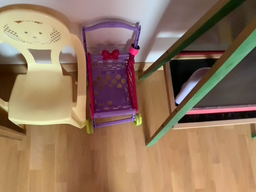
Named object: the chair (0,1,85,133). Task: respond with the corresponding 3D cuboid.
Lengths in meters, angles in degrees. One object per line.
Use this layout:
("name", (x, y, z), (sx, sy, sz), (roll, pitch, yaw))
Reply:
("chair", (-0.390, -0.060, 0.900), (0.380, 0.560, 0.350), (-2, 75, -10))

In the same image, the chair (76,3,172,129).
("chair", (-0.060, -0.070, 0.950), (0.290, 0.560, 0.350), (-2, 75, -10))
